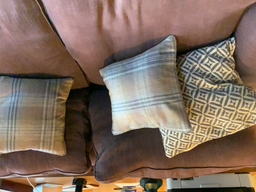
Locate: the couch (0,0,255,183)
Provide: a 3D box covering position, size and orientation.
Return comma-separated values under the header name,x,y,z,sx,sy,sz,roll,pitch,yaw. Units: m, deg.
name,x,y,z,sx,sy,sz,roll,pitch,yaw
couch,-0.240,-0.130,1.010,1.710,0.840,1.030,-5,150,7
